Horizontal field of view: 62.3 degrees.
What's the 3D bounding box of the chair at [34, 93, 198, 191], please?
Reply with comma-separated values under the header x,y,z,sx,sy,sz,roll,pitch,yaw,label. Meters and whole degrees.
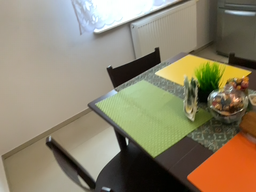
x,y,z,sx,sy,sz,roll,pitch,yaw,label
0.010,0.470,1.020,0.500,0.740,0.410,-33,38,-28,chair
